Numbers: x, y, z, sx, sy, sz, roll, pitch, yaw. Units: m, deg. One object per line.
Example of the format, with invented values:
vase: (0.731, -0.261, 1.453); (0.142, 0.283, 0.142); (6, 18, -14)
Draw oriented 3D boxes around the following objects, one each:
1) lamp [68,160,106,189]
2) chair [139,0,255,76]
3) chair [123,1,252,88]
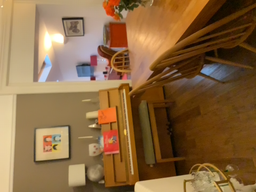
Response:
lamp: (-0.620, 1.170, 3.210); (0.230, 0.540, 0.340); (124, 142, -71)
chair: (0.580, -0.480, 1.270); (0.460, 0.890, 0.560); (121, 145, -70)
chair: (0.460, -0.420, 1.850); (0.460, 0.890, 0.540); (121, 145, -70)
